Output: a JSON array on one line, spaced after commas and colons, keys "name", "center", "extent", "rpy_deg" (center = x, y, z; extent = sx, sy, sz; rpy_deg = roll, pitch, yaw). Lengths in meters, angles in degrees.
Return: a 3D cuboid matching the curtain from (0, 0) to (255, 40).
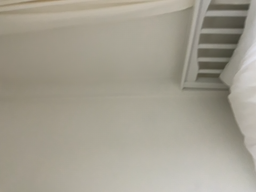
[{"name": "curtain", "center": [-0.180, -0.520, 1.100], "extent": [0.420, 1.800, 0.120], "rpy_deg": [82, -170, -53]}]
